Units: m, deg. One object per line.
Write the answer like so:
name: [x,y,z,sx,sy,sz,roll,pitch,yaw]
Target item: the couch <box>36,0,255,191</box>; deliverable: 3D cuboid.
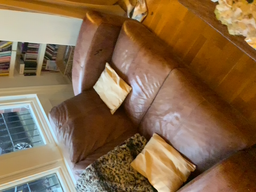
couch: [0.060,0.180,1.570,1.600,0.780,1.040,53,130,29]
